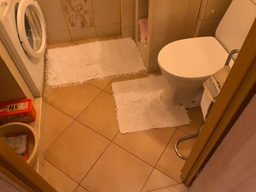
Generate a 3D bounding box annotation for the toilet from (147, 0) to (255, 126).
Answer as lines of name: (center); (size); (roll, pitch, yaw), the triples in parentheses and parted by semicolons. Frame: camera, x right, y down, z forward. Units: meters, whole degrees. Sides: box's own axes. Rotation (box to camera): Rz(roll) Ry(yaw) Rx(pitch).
toilet: (0.530, -0.230, 1.390); (0.680, 0.800, 0.390); (-10, 53, -7)
